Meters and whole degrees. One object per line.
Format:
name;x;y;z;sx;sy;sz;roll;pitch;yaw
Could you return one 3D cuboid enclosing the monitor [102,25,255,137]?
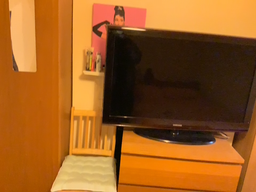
monitor;0.410;-0.070;1.550;1.150;0.740;0.060;4;16;-7
